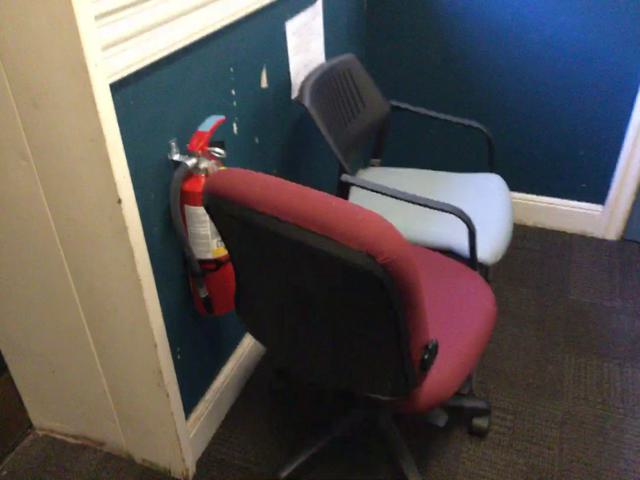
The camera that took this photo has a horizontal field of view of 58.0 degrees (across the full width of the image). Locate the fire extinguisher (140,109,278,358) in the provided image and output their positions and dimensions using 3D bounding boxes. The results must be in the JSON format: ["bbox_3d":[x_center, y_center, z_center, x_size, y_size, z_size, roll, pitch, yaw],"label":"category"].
[{"bbox_3d":[-0.220,-0.010,1.270,0.140,0.480,0.230,10,35,18],"label":"fire extinguisher"}]
